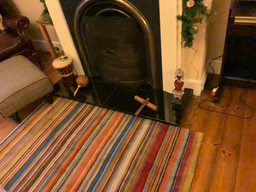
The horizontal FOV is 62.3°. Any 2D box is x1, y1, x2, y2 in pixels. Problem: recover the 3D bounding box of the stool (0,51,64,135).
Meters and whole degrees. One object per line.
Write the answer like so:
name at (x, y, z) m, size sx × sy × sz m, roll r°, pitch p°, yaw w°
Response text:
stool at (-1.070, -0.070, 2.070) m, size 0.510 × 0.360 × 0.690 m, roll -35°, pitch 46°, yaw -26°
